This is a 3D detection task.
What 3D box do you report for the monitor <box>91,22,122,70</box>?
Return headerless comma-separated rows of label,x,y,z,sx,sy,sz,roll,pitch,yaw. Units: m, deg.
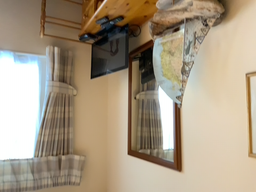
monitor,-0.200,-0.430,1.900,0.020,0.320,0.440,5,172,-41
